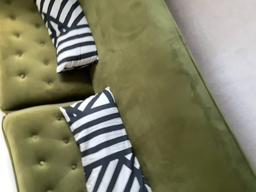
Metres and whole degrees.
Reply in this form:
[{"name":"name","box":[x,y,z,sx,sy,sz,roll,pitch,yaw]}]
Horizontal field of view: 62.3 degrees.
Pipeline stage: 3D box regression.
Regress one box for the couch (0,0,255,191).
[{"name":"couch","box":[-0.150,-0.050,1.120,0.900,0.790,1.690,-37,66,38]}]
